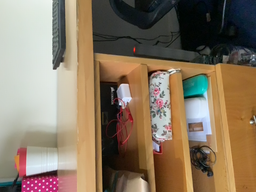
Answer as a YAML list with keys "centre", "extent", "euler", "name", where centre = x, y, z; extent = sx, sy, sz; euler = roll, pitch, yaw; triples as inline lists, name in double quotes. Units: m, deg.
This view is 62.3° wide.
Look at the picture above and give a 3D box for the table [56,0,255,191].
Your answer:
- centre: [0.100, -0.240, 0.890]
  extent: [0.550, 0.720, 1.570]
  euler: [153, 116, -66]
  name: "table"
